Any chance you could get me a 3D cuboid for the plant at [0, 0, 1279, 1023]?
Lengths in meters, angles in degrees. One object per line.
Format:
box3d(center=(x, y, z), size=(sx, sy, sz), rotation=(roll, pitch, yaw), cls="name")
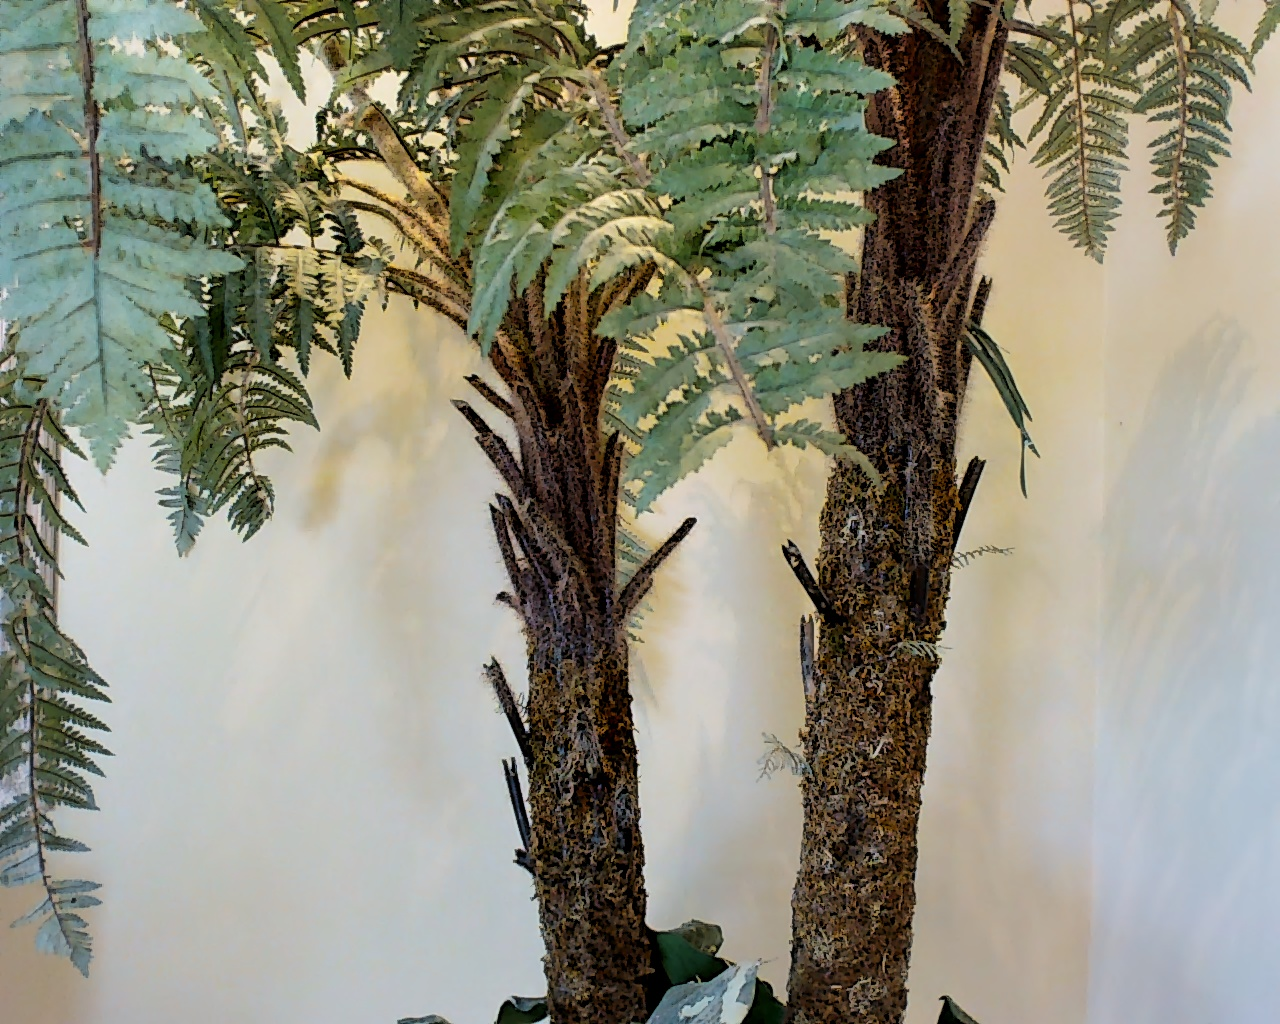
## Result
box3d(center=(0.000, -0.140, 1.190), size=(1.270, 1.880, 1.150), rotation=(1, 0, -7), cls="plant")
